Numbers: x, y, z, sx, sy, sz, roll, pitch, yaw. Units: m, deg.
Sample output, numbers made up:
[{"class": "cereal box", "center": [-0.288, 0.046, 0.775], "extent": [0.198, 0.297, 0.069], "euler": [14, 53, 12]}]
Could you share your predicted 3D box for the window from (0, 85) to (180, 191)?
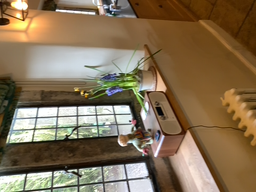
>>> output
[{"class": "window", "center": [-0.260, 0.310, 1.380], "extent": [1.130, 0.980, 0.060], "euler": [-106, 21, -45]}]
